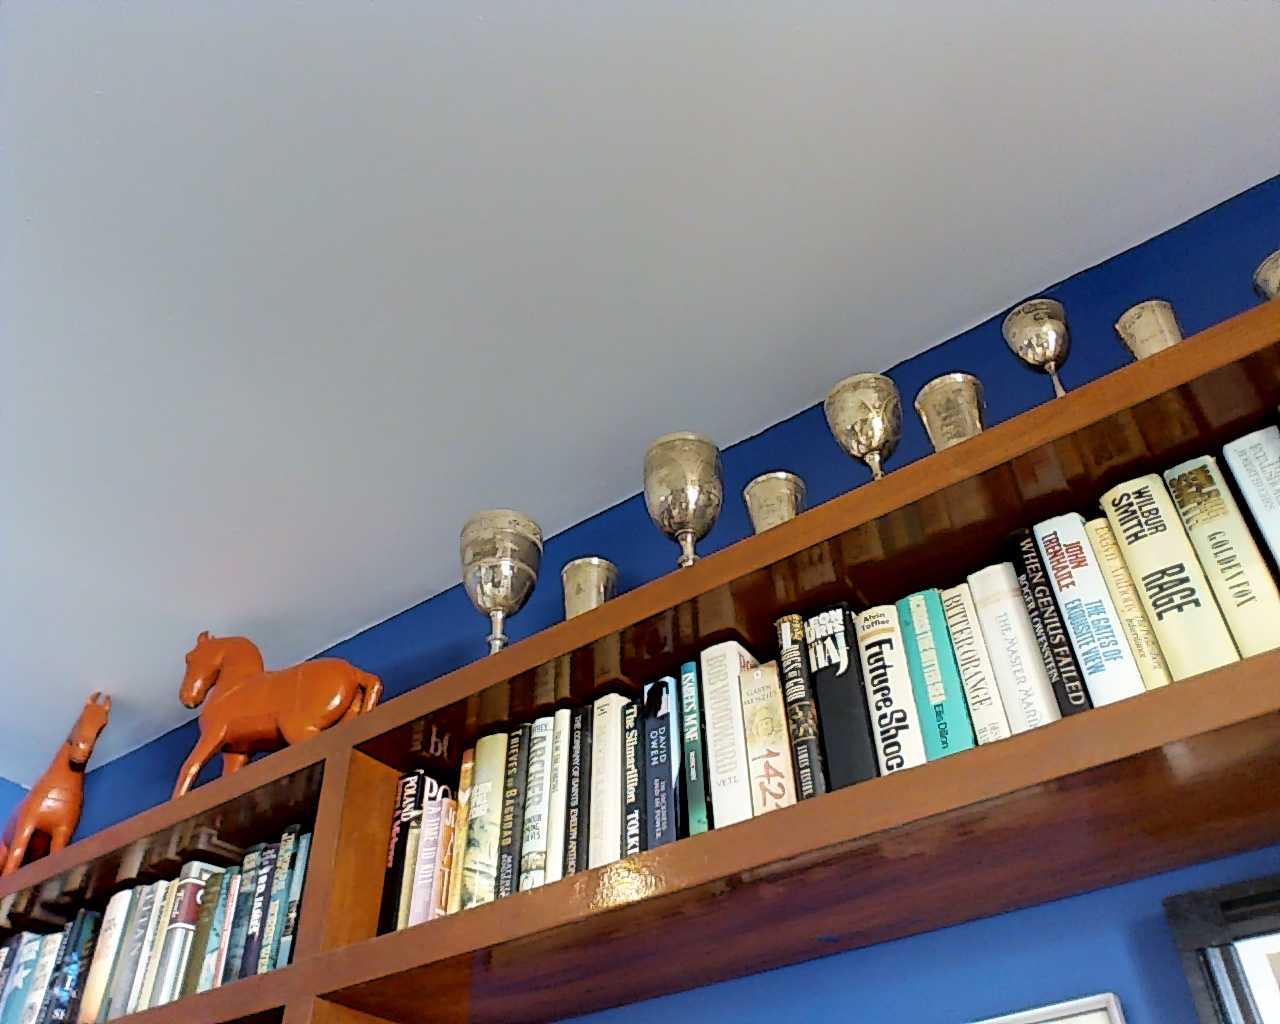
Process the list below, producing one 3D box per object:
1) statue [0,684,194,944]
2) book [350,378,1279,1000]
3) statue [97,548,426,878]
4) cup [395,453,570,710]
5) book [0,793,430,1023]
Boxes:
[{"bbox_3d":[-1.099,0.570,2.000,0.380,0.310,0.260,-27,-47,27],"label":"statue"},{"bbox_3d":[0.180,0.230,1.060,1.120,0.220,0.200,-28,-47,27],"label":"book"},{"bbox_3d":[-0.590,0.330,1.720,0.370,0.350,0.260,-26,-47,26],"label":"statue"},{"bbox_3d":[-0.200,0.090,1.410,0.160,0.270,0.130,-27,-47,27],"label":"cup"},{"bbox_3d":[-0.839,0.700,1.600,1.230,0.210,0.140,-23,-46,24],"label":"book"}]
